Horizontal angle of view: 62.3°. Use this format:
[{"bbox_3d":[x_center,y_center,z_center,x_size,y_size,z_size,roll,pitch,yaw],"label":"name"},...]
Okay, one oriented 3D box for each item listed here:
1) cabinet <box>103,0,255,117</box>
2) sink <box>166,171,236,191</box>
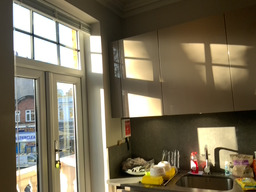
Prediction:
[{"bbox_3d":[0.490,-0.260,2.130,1.450,0.850,0.410,-6,-5,27],"label":"cabinet"},{"bbox_3d":[0.670,0.850,1.910,0.520,0.190,0.410,-6,-5,28],"label":"sink"}]
